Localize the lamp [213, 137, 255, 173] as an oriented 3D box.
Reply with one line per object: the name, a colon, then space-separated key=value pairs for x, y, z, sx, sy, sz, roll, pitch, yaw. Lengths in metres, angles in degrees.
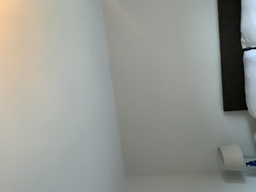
lamp: x=1.220 y=0.630 z=2.290 sx=0.290 sy=0.500 sz=0.250 roll=-58 pitch=-38 yaw=-75
